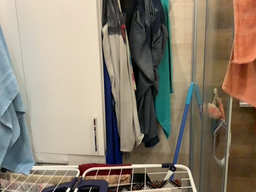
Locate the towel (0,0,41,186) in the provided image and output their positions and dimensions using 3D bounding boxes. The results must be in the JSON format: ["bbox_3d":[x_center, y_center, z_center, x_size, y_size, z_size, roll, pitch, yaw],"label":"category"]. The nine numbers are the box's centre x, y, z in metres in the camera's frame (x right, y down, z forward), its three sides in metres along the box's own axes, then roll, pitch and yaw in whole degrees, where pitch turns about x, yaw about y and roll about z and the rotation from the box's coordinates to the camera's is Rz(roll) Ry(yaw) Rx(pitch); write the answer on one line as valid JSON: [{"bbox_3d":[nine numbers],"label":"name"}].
[{"bbox_3d":[-0.600,-0.110,0.970,0.200,1.020,0.190,0,12,8],"label":"towel"}]
